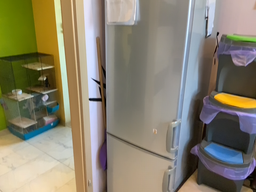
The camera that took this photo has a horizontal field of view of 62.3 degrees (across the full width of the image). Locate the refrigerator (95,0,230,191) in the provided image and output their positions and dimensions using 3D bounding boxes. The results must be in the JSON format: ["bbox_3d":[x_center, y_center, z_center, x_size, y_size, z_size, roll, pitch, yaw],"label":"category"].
[{"bbox_3d":[0.250,0.050,1.620,0.580,1.770,0.790,14,24,31],"label":"refrigerator"}]
